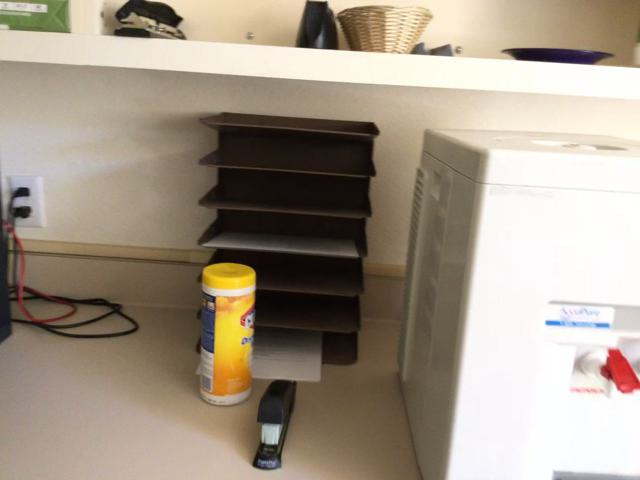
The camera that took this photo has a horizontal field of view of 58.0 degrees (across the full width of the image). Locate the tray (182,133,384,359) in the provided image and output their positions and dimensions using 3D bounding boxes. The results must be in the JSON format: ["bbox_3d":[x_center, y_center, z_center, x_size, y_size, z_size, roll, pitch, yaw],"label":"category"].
[{"bbox_3d":[-0.070,0.000,1.140,0.340,0.370,0.220,5,15,2],"label":"tray"}]

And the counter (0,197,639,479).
[{"bbox_3d":[0.140,0.220,0.950,3.030,0.290,0.700,5,15,2],"label":"counter"}]
